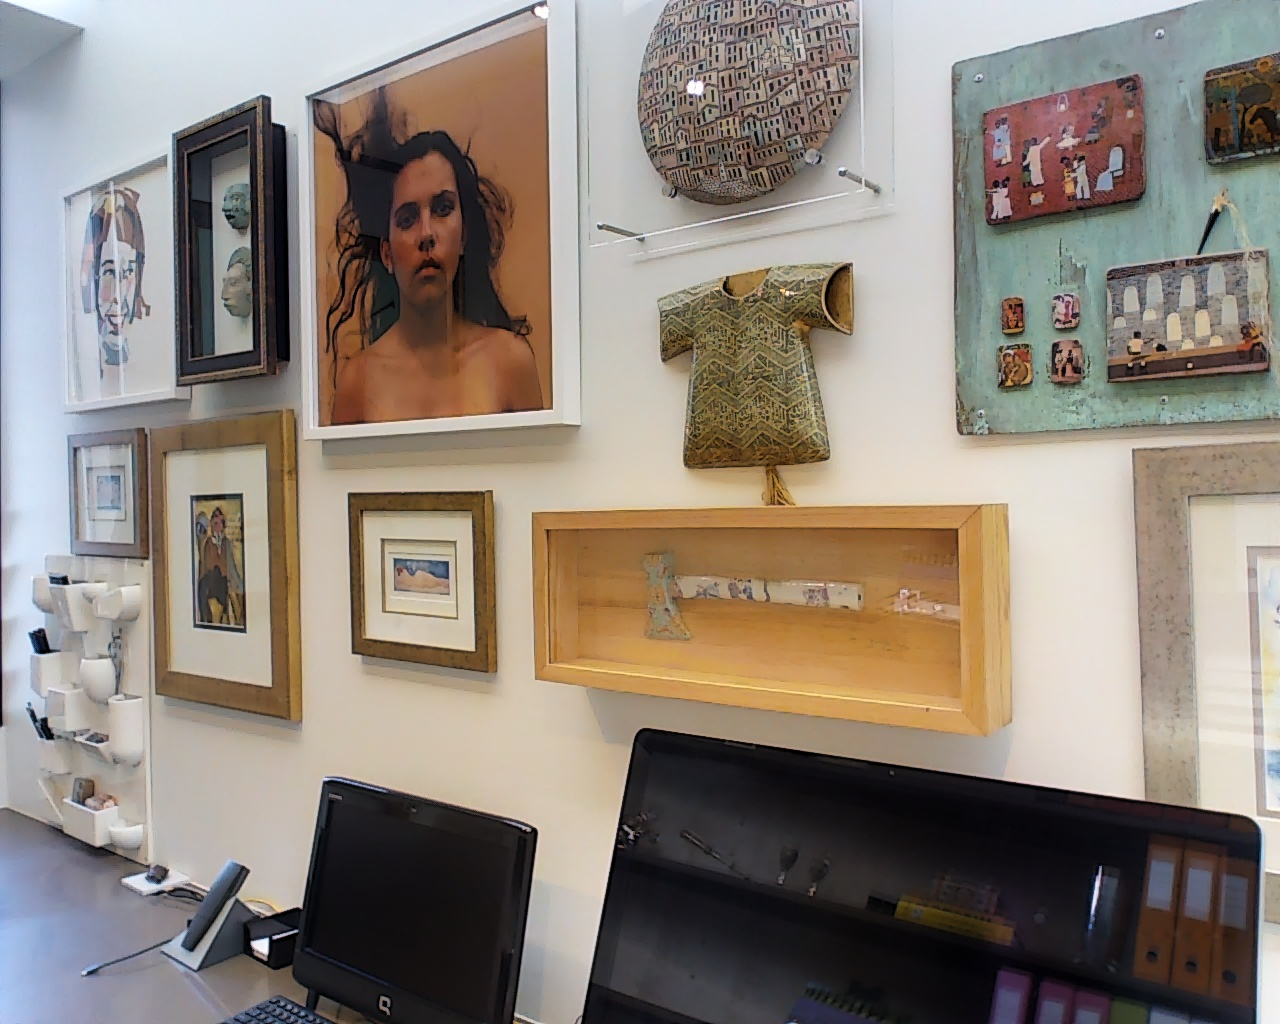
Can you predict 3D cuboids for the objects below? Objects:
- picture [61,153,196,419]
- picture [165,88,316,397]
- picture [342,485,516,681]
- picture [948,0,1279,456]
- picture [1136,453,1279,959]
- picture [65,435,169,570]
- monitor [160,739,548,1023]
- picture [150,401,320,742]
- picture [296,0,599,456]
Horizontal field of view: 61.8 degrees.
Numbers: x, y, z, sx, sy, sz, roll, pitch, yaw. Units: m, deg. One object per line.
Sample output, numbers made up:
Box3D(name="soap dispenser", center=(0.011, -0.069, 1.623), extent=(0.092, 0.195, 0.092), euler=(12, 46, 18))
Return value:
Box3D(name="picture", center=(-1.150, -0.480, 2.380), extent=(0.570, 0.510, 0.020), euler=(0, 0, 39))
Box3D(name="picture", center=(-0.780, -0.500, 2.070), extent=(0.390, 0.520, 0.080), euler=(0, 0, 39))
Box3D(name="picture", center=(-0.360, 0.110, 1.780), extent=(0.400, 0.300, 0.030), euler=(0, 0, 39))
Box3D(name="picture", center=(0.600, -0.290, 1.010), extent=(0.630, 0.450, 0.020), euler=(0, 0, 39))
Box3D(name="picture", center=(0.660, 0.180, 0.960), extent=(0.390, 0.470, 0.030), euler=(0, 0, 39))
Box3D(name="picture", center=(-1.200, -0.020, 2.440), extent=(0.450, 0.290, 0.020), euler=(0, 0, 39))
Box3D(name="monitor", center=(-0.480, 0.600, 1.720), extent=(0.670, 0.340, 0.250), euler=(0, 0, 39))
Box3D(name="picture", center=(-0.820, 0.110, 2.130), extent=(0.560, 0.620, 0.030), euler=(0, 0, 39))
Box3D(name="picture", center=(-0.340, -0.430, 1.740), extent=(0.670, 0.650, 0.050), euler=(0, 0, 39))
